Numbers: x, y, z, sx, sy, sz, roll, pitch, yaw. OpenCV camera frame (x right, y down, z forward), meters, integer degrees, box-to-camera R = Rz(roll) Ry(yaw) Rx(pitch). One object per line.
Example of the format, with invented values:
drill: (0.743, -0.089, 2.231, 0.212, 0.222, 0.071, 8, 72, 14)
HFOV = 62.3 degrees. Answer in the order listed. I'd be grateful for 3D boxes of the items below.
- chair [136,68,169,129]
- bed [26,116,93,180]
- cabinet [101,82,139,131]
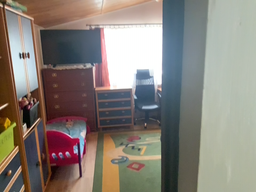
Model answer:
chair: (0.510, 0.020, 4.500, 0.560, 1.170, 0.540, -3, 13, -6)
bed: (-0.990, 0.740, 3.470, 0.740, 0.310, 1.550, -3, 13, -6)
cabinet: (-0.180, 0.200, 4.480, 0.710, 0.860, 0.600, -3, 13, -6)
